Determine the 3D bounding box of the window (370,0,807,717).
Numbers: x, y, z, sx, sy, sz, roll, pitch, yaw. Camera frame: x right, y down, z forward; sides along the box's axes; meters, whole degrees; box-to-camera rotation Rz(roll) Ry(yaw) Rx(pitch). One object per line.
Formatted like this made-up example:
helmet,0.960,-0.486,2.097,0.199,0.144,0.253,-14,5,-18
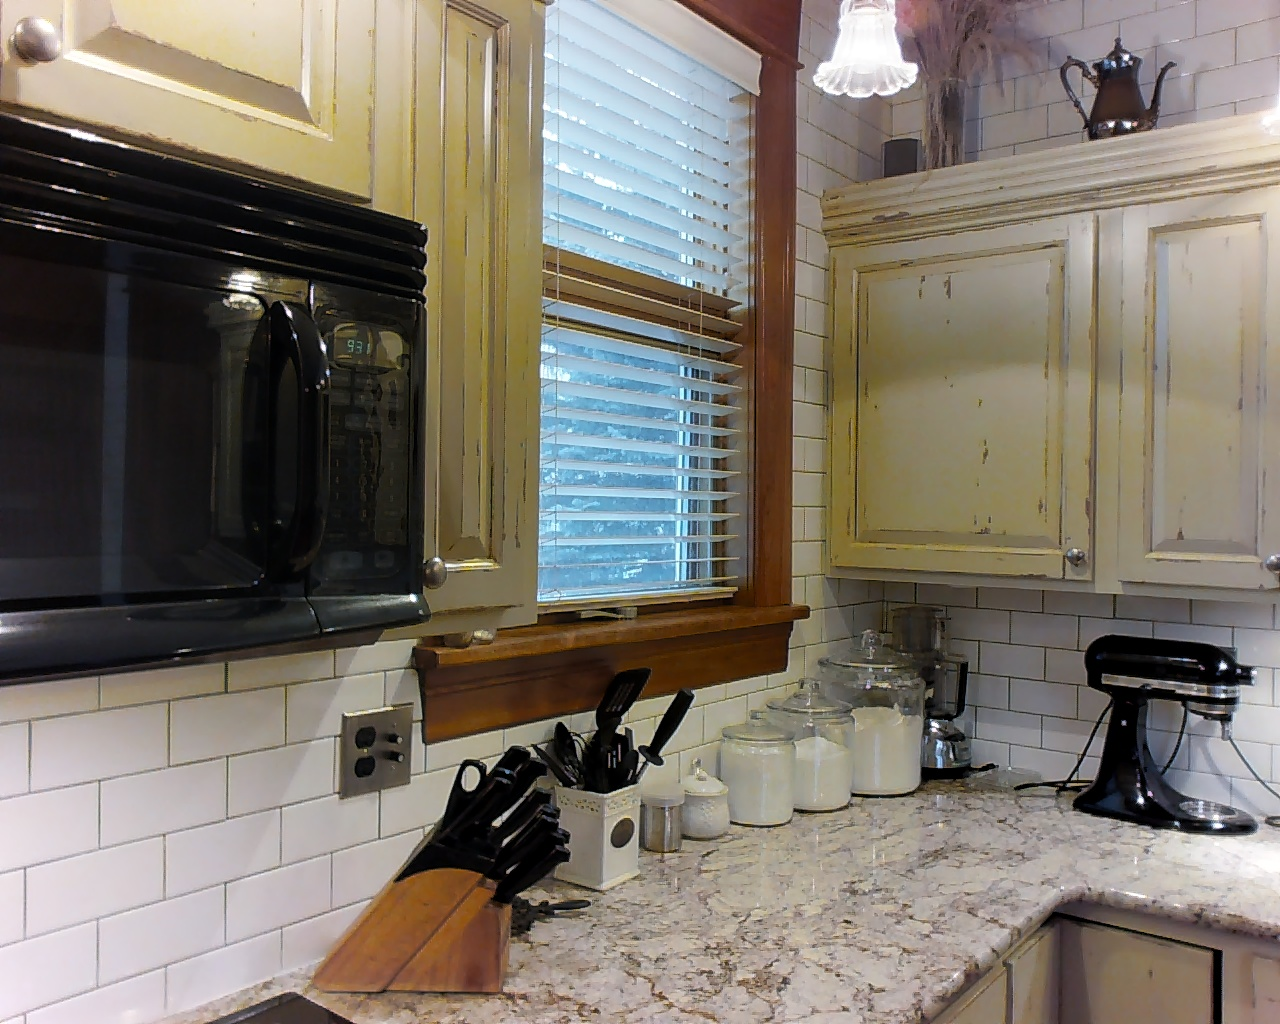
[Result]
window,-0.010,-0.480,1.950,0.090,1.531,1.100,1,0,37
